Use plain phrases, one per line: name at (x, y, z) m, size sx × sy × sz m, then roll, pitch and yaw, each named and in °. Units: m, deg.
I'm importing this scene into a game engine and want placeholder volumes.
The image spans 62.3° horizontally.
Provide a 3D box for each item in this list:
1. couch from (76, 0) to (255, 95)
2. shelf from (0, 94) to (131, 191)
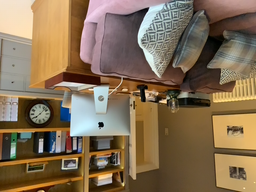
couch at (0.640, -0.530, 1.580) m, size 1.700 × 0.850 × 1.040 m, roll 5°, pitch 172°, yaw -39°
shelf at (-1.250, 0.850, 3.030) m, size 2.940 × 1.630 × 0.530 m, roll 5°, pitch 171°, yaw -40°
